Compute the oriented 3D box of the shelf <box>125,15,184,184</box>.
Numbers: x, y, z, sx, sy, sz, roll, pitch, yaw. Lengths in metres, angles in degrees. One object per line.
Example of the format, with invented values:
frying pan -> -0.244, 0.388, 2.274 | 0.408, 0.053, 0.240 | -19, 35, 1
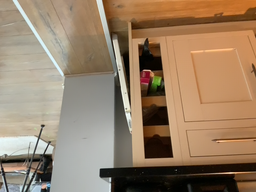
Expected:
shelf -> 0.130, 0.060, 1.410 | 0.230, 0.920, 0.660 | -3, 154, 3
